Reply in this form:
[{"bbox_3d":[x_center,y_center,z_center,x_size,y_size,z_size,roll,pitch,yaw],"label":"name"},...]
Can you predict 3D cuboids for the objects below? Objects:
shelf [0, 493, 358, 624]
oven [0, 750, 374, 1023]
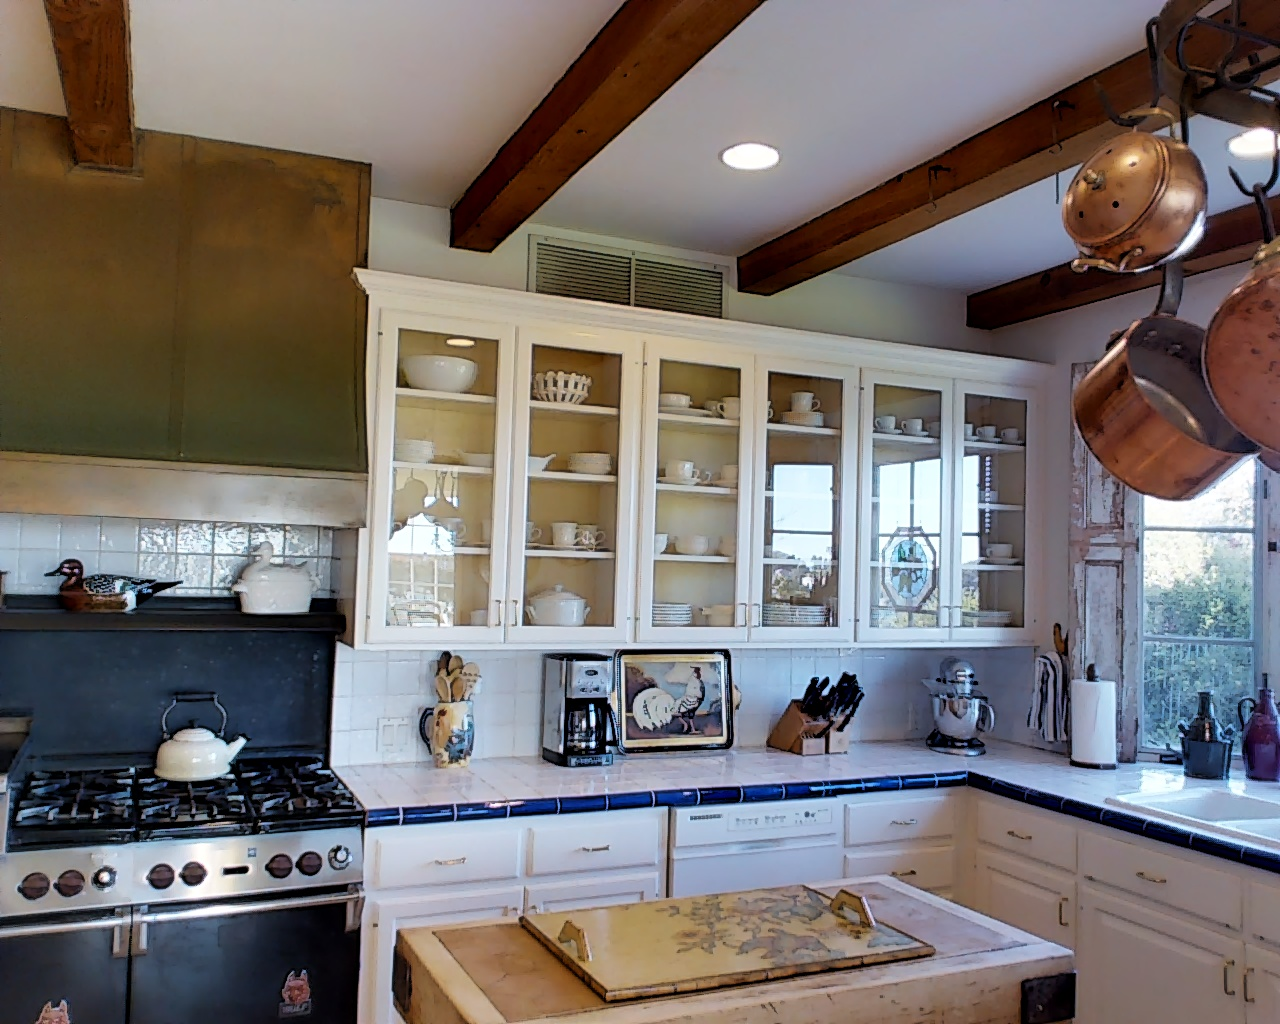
[{"bbox_3d":[-1.660,0.140,3.220,1.510,0.350,0.410,3,-3,-23],"label":"shelf"},{"bbox_3d":[-1.550,1.230,2.890,1.480,1.000,0.680,3,-3,-23],"label":"oven"}]
